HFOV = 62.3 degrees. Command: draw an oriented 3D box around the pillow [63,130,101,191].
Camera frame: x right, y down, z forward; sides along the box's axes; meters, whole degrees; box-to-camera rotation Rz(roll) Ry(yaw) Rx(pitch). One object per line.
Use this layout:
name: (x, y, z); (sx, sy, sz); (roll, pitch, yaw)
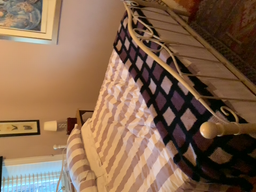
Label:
pillow: (-0.540, 0.740, 2.390); (0.540, 0.250, 0.440); (64, 143, 42)
